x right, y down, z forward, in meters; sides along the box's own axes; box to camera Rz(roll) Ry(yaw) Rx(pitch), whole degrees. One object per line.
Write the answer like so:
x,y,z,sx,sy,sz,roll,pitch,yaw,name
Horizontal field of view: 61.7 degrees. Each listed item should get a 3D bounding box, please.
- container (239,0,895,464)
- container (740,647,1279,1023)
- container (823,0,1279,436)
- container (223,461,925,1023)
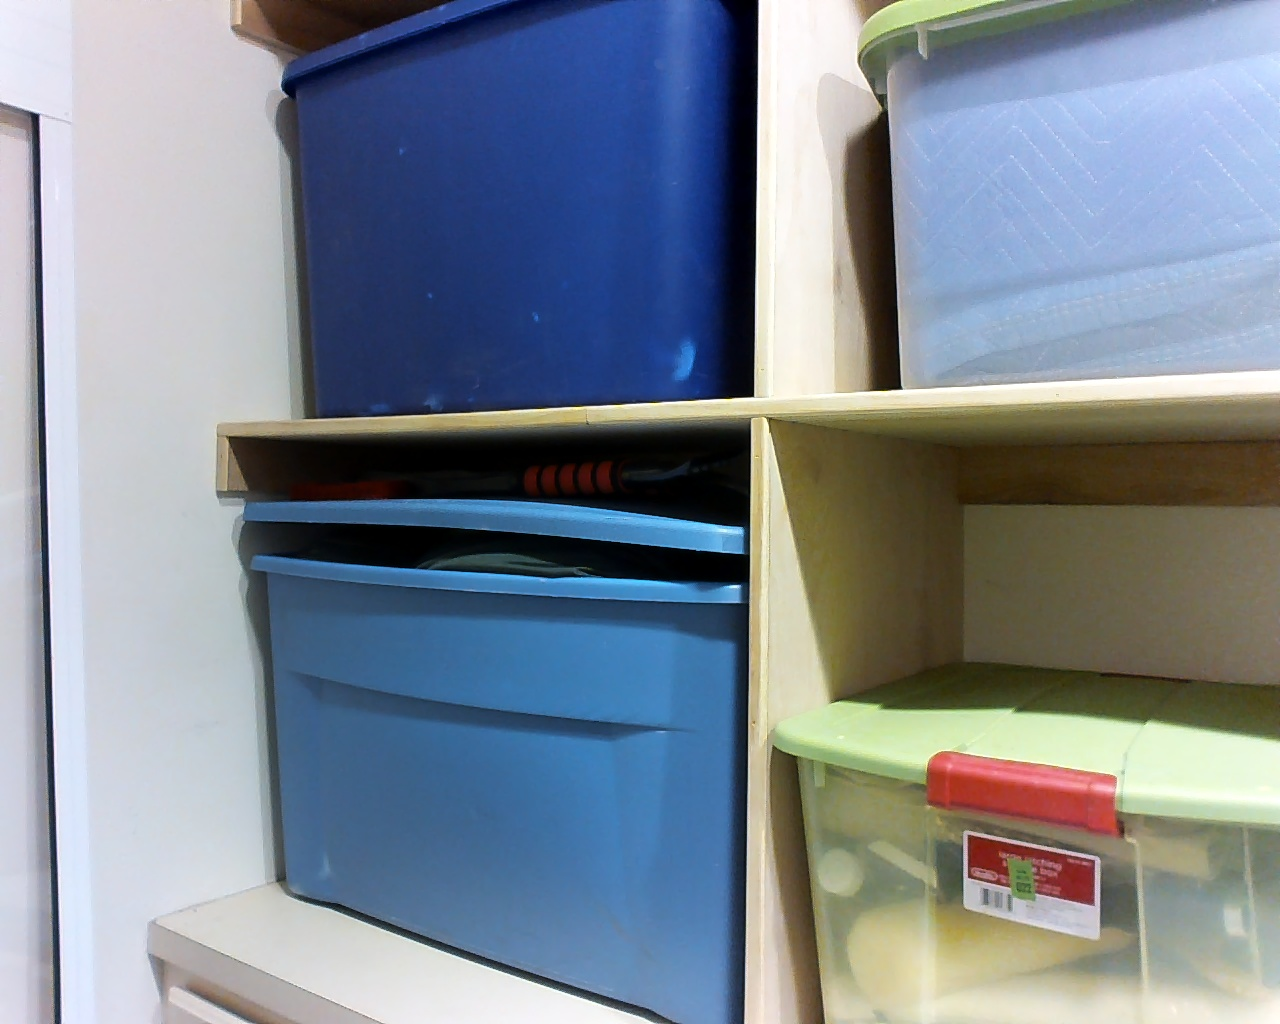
-0.100,-0.340,1.390,0.720,0.520,0.450,0,0,34,container
0.440,0.350,0.990,0.480,0.360,0.560,0,0,34,container
0.490,-0.270,0.910,0.580,0.370,0.310,0,0,34,container
-0.090,0.240,1.360,0.740,0.570,0.490,0,0,36,container
